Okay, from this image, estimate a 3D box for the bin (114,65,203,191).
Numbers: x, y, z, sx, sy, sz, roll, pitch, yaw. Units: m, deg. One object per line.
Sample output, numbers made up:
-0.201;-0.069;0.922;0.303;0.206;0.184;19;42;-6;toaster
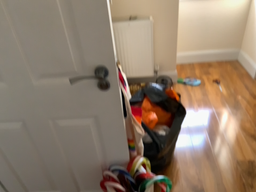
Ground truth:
0.180;0.230;1.540;0.450;0.600;0.730;-3;37;3;bin
